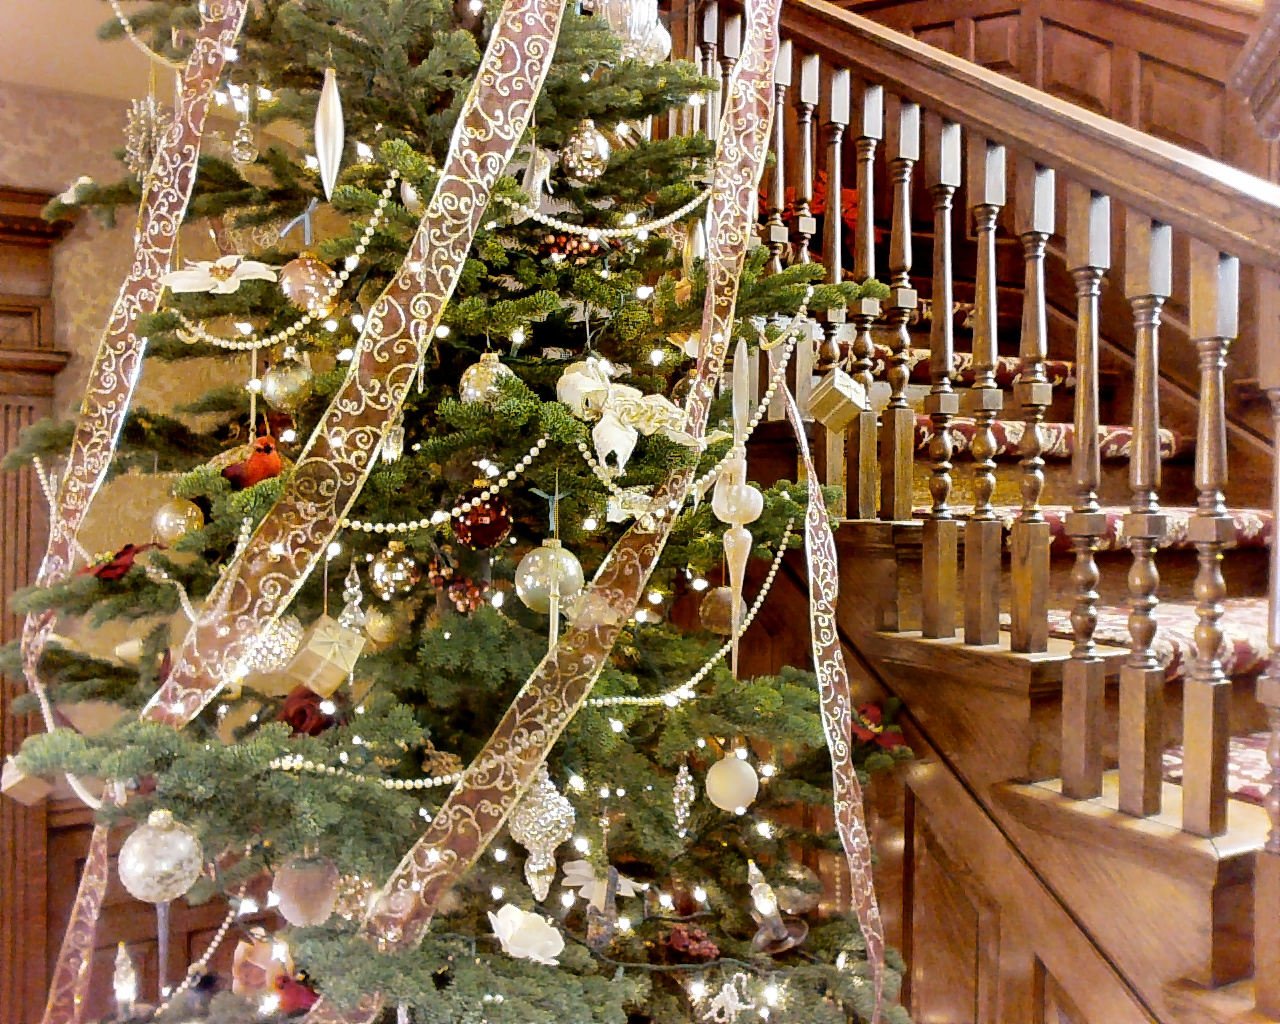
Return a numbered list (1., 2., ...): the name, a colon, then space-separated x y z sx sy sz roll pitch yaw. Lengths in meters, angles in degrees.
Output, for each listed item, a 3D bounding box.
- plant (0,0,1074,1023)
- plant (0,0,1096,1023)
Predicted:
1. plant: -0.430 0.380 1.540 1.290 3.221 1.410 1 0 -28
2. plant: -0.430 0.320 1.540 1.340 3.381 1.430 1 0 -28
